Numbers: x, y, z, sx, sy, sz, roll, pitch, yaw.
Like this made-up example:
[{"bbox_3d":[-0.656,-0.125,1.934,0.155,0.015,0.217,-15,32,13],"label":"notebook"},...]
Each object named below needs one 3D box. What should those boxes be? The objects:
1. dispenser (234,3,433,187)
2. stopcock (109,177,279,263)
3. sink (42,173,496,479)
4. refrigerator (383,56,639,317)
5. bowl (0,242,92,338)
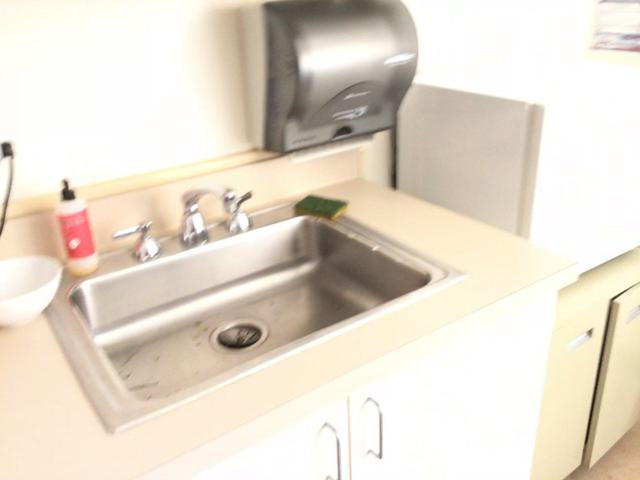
[{"bbox_3d":[0.030,-0.330,1.250,0.330,0.330,0.240,-15,26,-31],"label":"dispenser"},{"bbox_3d":[-0.260,-0.050,1.230,0.330,0.090,0.110,-15,26,-31],"label":"stopcock"},{"bbox_3d":[-0.110,0.100,1.090,0.630,0.240,0.550,-15,26,-31],"label":"sink"},{"bbox_3d":[0.520,-0.190,1.490,0.500,0.490,0.500,-15,26,-31],"label":"refrigerator"},{"bbox_3d":[-0.500,0.080,0.970,0.170,0.060,0.200,-15,26,-31],"label":"bowl"}]
